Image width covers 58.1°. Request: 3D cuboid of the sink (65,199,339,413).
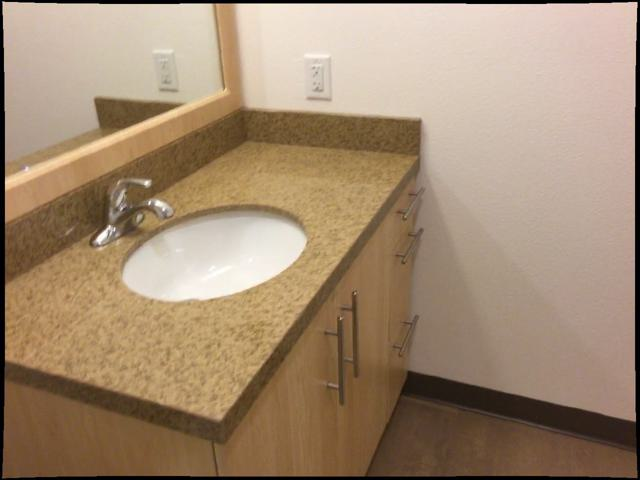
[{"bbox_3d":[-0.209,0.100,1.210,0.359,0.180,0.450,8,29,21],"label":"sink"}]
